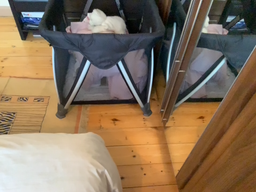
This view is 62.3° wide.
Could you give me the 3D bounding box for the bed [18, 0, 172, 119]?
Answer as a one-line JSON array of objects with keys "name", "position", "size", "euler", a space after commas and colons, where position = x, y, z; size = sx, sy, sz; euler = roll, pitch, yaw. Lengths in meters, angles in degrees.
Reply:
[{"name": "bed", "position": [-0.240, -0.440, 1.720], "size": [0.820, 0.710, 0.960], "euler": [-3, 50, -7]}]
